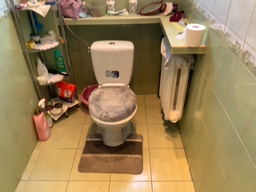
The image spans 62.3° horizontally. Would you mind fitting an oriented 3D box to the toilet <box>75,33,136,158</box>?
[{"bbox_3d":[-0.130,-0.050,1.850,0.370,0.710,0.880,0,36,1],"label":"toilet"}]
